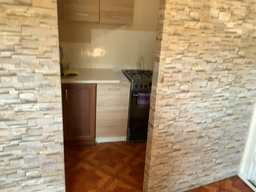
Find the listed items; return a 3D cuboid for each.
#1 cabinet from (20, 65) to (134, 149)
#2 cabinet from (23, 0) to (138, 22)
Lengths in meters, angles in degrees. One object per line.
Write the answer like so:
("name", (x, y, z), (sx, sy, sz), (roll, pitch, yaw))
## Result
("cabinet", (-0.610, 0.090, 2.720), (1.200, 0.860, 0.620), (-2, 19, -14))
("cabinet", (-0.520, -1.200, 2.460), (1.250, 0.570, 0.310), (-2, 19, -14))
